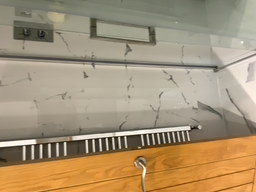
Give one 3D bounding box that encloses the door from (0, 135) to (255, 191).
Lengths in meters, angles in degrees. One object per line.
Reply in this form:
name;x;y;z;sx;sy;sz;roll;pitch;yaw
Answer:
door;-0.010;0.590;1.000;0.040;2.060;0.690;-154;66;-63
